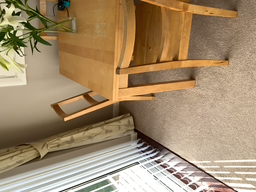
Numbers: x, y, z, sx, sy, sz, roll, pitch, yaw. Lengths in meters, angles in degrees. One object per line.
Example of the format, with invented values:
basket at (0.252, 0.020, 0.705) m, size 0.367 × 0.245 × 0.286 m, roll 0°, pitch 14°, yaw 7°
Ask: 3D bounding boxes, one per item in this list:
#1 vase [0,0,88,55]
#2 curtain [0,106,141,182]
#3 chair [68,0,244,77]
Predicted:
vase at (-0.560, -0.450, 1.420) m, size 0.290 × 0.490 × 0.310 m, roll 23°, pitch 116°, yaw 51°
curtain at (-0.970, 0.440, 1.760) m, size 0.520 × 2.350 × 0.220 m, roll 20°, pitch 114°, yaw 52°
chair at (0.150, -0.350, 1.270) m, size 0.610 × 0.820 × 0.340 m, roll 21°, pitch 114°, yaw 53°
